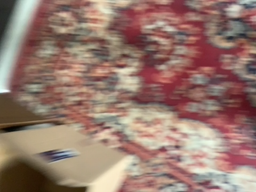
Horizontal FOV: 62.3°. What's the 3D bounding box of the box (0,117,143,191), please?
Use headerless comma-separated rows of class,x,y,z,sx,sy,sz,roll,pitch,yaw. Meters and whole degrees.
box,-0.350,0.490,0.850,0.480,0.620,0.630,25,95,17
